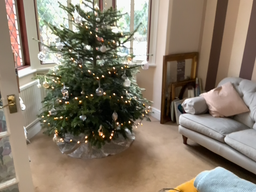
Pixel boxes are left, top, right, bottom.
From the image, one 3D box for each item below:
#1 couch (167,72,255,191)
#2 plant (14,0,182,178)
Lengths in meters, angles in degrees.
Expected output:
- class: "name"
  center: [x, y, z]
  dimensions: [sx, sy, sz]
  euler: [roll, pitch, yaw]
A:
- class: "couch"
  center: [1.400, 0.320, 2.600]
  dimensions: [1.040, 0.840, 1.450]
  euler: [-11, 23, -32]
- class: "plant"
  center: [-0.410, -0.400, 2.720]
  dimensions: [1.510, 1.930, 1.300]
  euler: [-12, 23, -33]
